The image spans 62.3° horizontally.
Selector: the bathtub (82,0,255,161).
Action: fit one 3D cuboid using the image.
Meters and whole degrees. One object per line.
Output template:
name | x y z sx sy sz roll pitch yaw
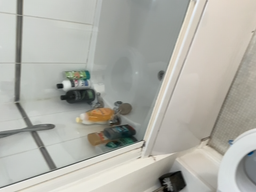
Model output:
bathtub | 0.300 -0.590 1.120 0.680 0.580 1.660 38 123 40
